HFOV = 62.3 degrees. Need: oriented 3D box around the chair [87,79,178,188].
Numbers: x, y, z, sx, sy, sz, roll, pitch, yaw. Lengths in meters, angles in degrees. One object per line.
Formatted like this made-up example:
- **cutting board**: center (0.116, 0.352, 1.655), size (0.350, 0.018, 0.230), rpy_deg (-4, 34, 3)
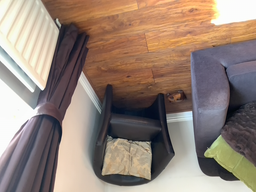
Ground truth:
- **chair**: center (0.000, 0.380, 2.050), size (0.640, 0.770, 0.640), rpy_deg (9, 142, -11)
